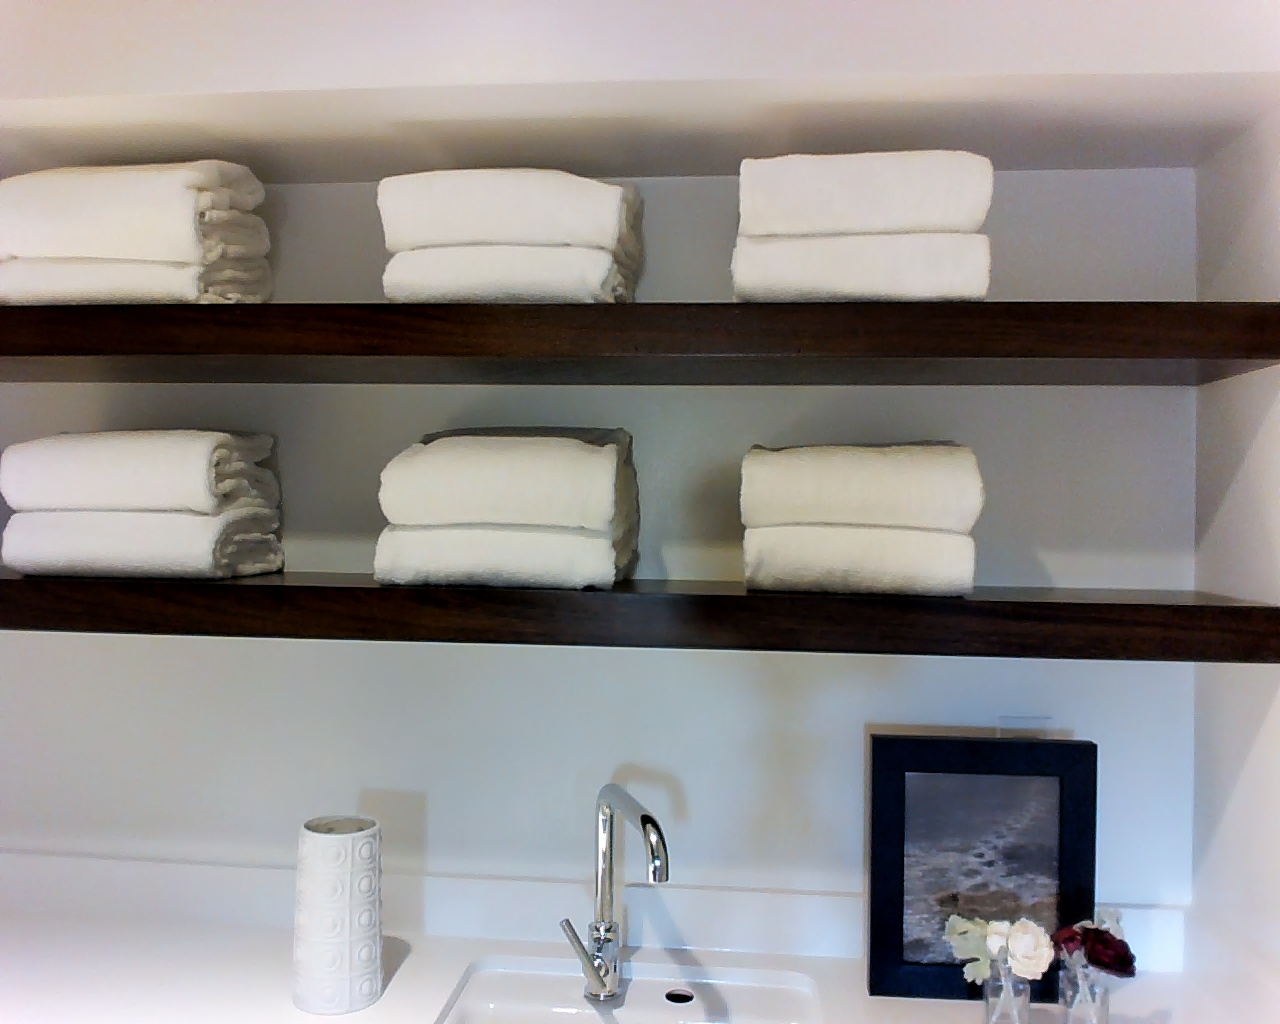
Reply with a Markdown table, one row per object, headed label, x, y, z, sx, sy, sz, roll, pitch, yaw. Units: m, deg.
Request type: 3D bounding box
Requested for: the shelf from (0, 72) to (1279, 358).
| label | x | y | z | sx | sy | sz | roll | pitch | yaw |
| --- | --- | --- | --- | --- | --- | --- | --- | --- | --- |
| shelf | -0.300 | -0.360 | 1.430 | 2.120 | 0.260 | 0.300 | 1 | 0 | 6 |
